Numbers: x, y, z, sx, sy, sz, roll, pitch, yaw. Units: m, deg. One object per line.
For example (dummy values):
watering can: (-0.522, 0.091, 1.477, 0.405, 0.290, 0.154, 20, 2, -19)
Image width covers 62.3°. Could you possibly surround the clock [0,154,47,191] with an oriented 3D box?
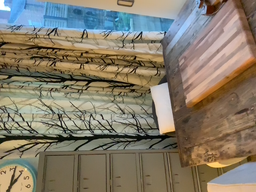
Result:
clock: (-0.790, 0.630, 1.450, 0.120, 0.400, 0.430, 124, 146, -62)
